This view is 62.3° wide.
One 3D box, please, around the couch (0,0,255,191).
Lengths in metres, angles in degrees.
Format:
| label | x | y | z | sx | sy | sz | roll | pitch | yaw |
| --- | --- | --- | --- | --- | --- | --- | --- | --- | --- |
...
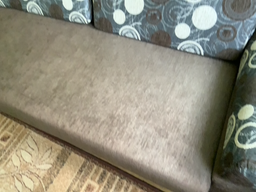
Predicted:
| label | x | y | z | sx | sy | sz | roll | pitch | yaw |
| --- | --- | --- | --- | --- | --- | --- | --- | --- | --- |
| couch | -0.270 | -0.320 | 1.090 | 2.010 | 0.870 | 0.960 | 20 | 62 | 18 |
